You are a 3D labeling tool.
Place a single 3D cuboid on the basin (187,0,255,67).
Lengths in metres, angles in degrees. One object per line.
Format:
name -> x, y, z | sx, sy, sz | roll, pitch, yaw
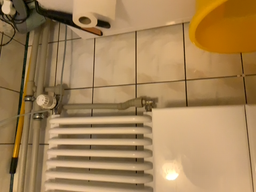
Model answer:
basin -> 0.390, -0.250, 0.660 | 0.390, 0.140, 0.470 | -2, 168, 15
